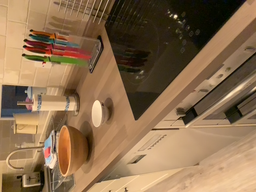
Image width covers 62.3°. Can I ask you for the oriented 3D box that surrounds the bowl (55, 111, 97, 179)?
[{"bbox_3d":[-0.290,0.260,1.130,0.260,0.120,0.260,-53,45,43],"label":"bowl"}]
